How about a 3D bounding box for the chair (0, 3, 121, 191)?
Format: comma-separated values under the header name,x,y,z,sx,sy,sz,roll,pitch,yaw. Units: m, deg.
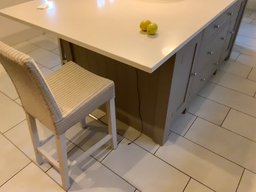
name,x,y,z,sx,sy,sz,roll,pitch,yaw
chair,-0.410,0.050,1.340,0.480,1.010,0.540,25,46,27
